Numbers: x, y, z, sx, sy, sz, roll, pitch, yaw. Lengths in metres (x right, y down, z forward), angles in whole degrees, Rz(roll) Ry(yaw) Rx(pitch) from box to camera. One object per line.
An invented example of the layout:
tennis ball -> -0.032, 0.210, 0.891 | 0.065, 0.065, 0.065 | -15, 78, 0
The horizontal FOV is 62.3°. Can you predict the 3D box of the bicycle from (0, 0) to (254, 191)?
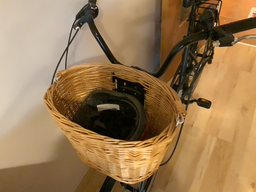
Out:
bicycle -> 0.300, -0.080, 1.230 | 0.420, 1.120, 1.740 | 20, 56, 21
